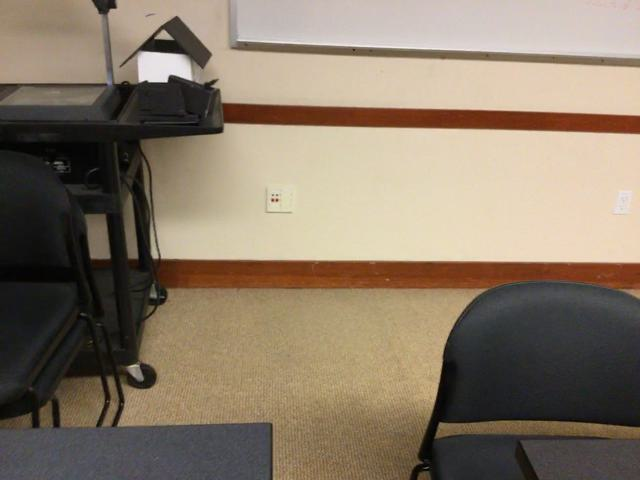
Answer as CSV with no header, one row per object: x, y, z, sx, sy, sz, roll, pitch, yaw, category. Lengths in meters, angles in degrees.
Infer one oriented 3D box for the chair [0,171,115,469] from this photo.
-0.850,0.140,1.390,0.500,0.450,0.650,0,22,-5,chair

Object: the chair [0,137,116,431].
-0.840,0.050,1.350,0.510,0.440,0.660,0,22,-5,chair

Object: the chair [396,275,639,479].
0.450,0.530,1.050,0.490,0.760,0.570,0,22,-5,chair
